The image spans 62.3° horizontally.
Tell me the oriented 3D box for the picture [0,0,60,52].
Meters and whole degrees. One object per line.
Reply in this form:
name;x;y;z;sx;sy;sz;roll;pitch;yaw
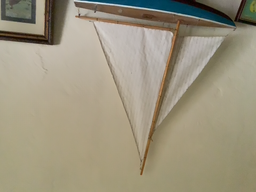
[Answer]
picture;-0.430;-0.400;0.860;0.280;0.380;0.050;10;-175;-10
